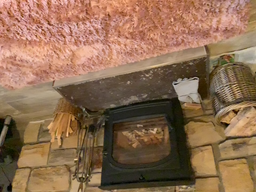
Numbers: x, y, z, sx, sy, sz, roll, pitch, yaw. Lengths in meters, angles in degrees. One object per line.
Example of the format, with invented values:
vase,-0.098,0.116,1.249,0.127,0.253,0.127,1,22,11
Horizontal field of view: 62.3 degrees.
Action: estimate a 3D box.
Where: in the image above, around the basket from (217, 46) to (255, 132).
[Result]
basket,0.730,-0.040,1.250,0.300,0.380,0.300,-10,146,15
